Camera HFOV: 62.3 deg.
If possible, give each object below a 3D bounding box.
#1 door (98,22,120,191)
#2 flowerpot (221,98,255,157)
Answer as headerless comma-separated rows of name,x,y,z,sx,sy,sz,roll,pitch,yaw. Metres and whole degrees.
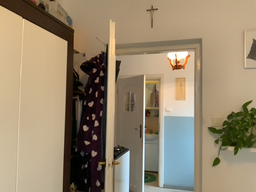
door,-0.150,0.580,1.660,0.110,2.050,0.770,1,-3,-3
flowerpot,1.000,0.230,1.590,0.540,0.410,0.220,0,-3,19
